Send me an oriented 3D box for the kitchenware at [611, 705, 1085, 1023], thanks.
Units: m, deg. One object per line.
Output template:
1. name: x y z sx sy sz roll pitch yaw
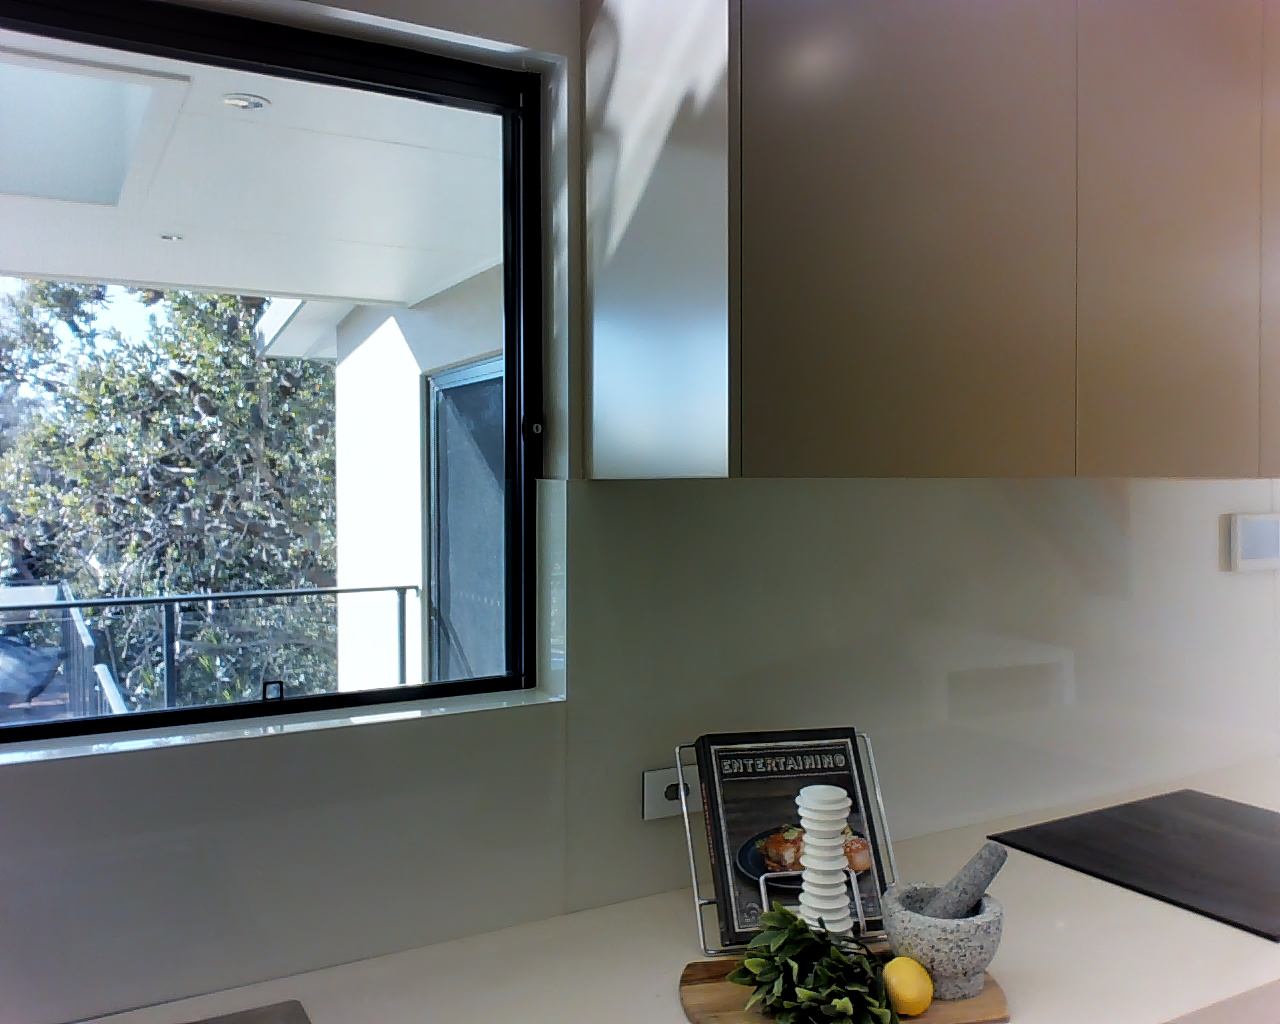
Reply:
1. kitchenware: 0.230 0.460 1.430 0.450 0.280 0.540 -1 1 -11

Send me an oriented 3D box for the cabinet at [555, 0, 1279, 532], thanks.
1. cabinet: 0.870 -0.470 1.910 2.050 0.950 0.430 -1 1 -30
